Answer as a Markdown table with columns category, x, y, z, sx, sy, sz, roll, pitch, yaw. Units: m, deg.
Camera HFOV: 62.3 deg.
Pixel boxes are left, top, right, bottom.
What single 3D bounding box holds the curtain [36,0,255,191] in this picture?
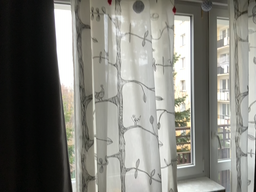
| category | x | y | z | sx | sy | sz | roll | pitch | yaw |
| --- | --- | --- | --- | --- | --- | --- | --- | --- | --- |
| curtain | 0.340 | 0.280 | 1.500 | 1.770 | 2.630 | 0.250 | -1 | 2 | -18 |
